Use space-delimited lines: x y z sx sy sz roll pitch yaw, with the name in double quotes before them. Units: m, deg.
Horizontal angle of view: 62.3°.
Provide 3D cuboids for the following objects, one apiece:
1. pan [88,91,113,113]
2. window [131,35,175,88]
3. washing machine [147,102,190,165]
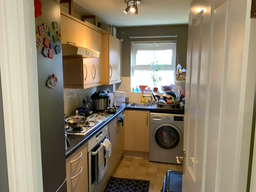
"pan" -0.420 0.080 3.270 0.290 0.280 0.330 2 8 11
"window" 0.480 -0.680 4.210 0.850 1.000 0.090 2 8 11
"washing machine" 0.720 0.620 3.790 0.670 0.930 0.650 2 8 11
